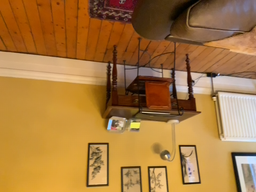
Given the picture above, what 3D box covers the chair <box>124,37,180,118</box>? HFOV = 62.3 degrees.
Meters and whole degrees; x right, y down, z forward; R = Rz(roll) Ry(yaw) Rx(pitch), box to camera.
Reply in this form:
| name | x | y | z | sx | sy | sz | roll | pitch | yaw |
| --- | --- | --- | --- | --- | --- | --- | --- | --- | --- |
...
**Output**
| name | x | y | z | sx | sy | sz | roll | pitch | yaw |
| --- | --- | --- | --- | --- | --- | --- | --- | --- | --- |
| chair | 0.250 | -0.190 | 2.540 | 0.480 | 0.790 | 0.530 | 4 | 161 | -13 |
